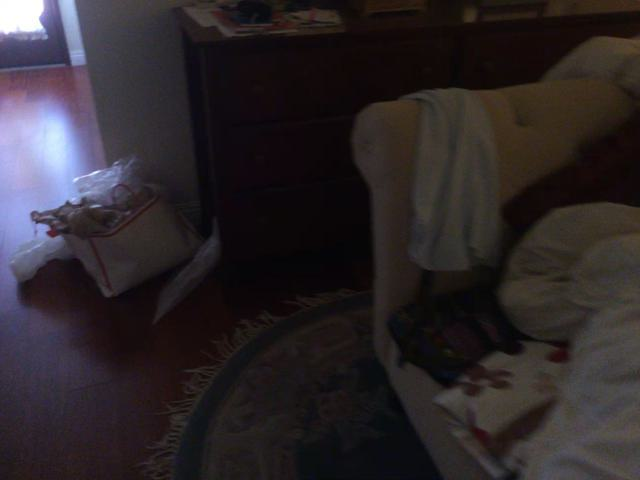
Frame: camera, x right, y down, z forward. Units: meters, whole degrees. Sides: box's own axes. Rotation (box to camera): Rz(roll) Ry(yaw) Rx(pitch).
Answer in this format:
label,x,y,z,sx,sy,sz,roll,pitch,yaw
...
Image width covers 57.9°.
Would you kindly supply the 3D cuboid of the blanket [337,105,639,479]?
label,x,y,z,sx,sy,sz,roll,pitch,yaw
blanket,0.570,0.200,0.890,0.790,0.470,0.950,-11,33,-17
